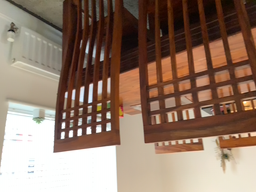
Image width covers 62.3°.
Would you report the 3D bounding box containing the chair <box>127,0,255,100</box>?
[{"bbox_3d":[0.330,-0.500,1.110,0.470,0.880,0.500,-15,159,32],"label":"chair"}]
